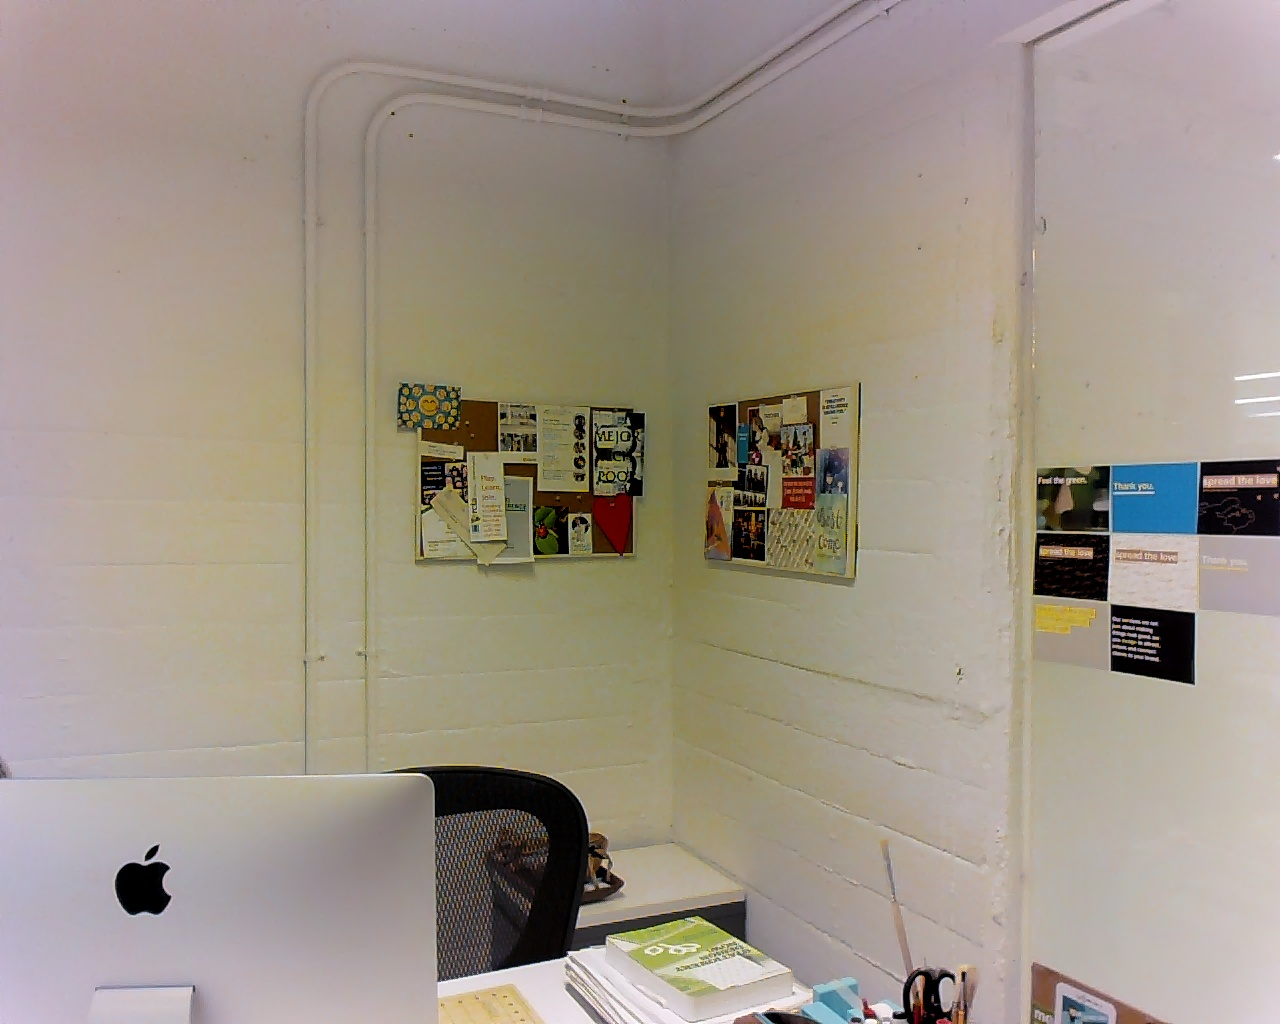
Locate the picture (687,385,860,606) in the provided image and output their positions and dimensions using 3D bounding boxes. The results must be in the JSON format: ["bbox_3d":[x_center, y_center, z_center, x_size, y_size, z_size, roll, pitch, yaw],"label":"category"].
[{"bbox_3d":[0.280,-0.030,2.410,0.050,0.440,0.600,0,-1,-28],"label":"picture"}]
